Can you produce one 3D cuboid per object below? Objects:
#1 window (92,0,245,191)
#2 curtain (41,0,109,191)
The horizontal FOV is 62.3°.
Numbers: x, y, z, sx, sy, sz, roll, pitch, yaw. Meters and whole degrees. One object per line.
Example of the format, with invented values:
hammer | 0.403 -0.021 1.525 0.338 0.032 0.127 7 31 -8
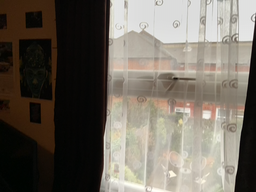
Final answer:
window | 0.160 -0.090 1.160 0.780 1.720 0.070 5 9 22
curtain | -0.310 -0.170 1.250 0.350 1.490 0.150 4 9 21
